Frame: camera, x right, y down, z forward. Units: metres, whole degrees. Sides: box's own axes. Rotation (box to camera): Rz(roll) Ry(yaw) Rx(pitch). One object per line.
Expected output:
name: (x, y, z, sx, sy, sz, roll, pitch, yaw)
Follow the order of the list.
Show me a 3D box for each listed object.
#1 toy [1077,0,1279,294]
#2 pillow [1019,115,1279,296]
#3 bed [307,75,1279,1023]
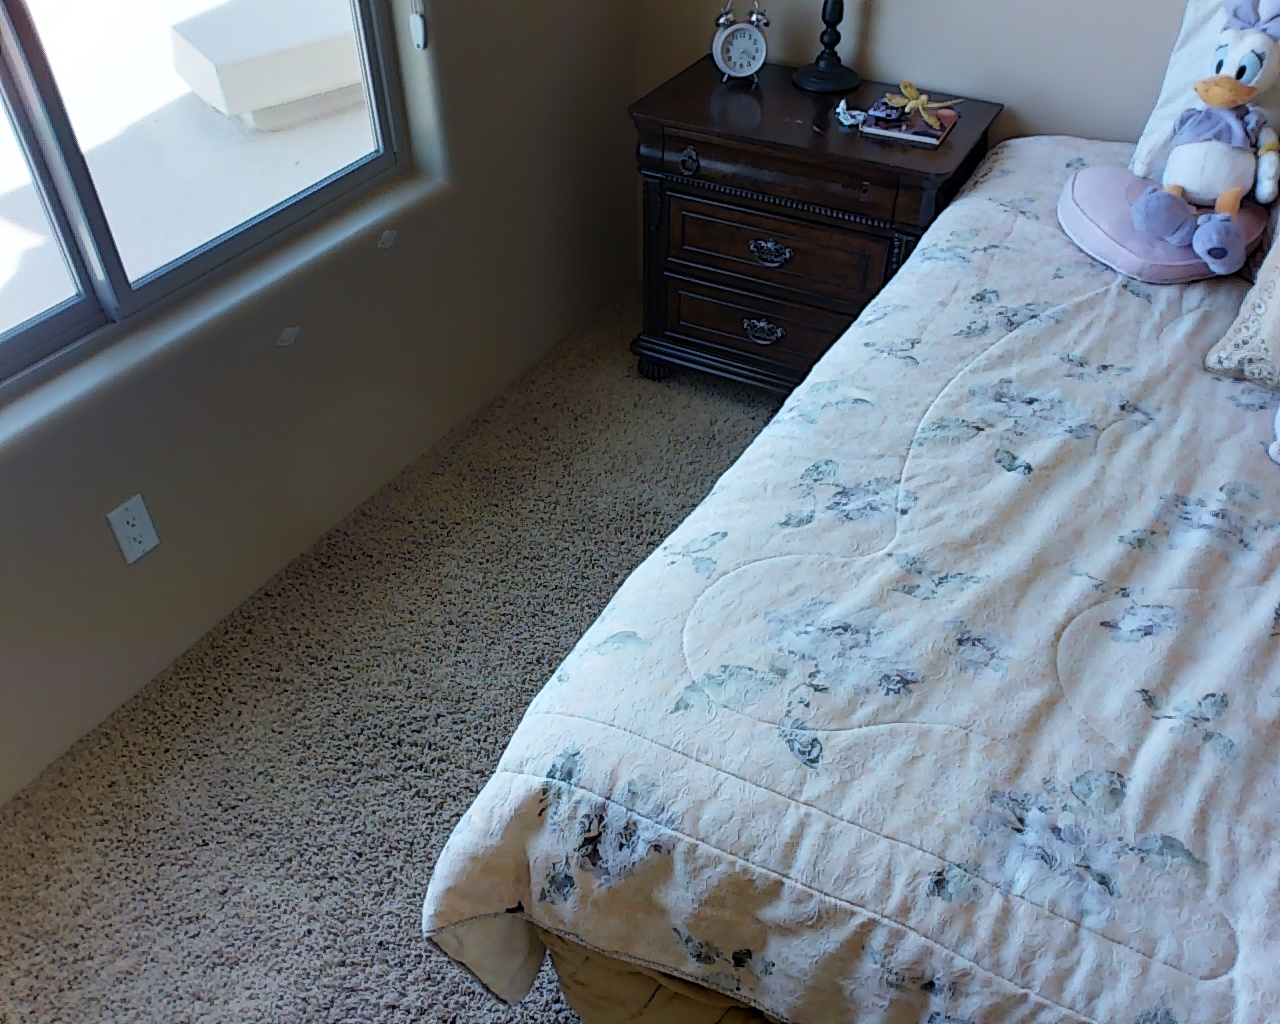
toy: (0.970, -0.660, 1.780, 0.260, 0.390, 0.410, 24, 47, 24)
pillow: (0.910, -0.560, 1.910, 0.340, 0.110, 0.360, 22, 46, 22)
bed: (0.900, 0.160, 1.600, 1.600, 0.670, 2.070, 22, 46, 22)
